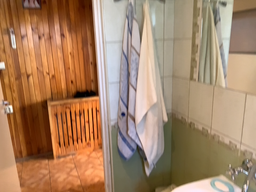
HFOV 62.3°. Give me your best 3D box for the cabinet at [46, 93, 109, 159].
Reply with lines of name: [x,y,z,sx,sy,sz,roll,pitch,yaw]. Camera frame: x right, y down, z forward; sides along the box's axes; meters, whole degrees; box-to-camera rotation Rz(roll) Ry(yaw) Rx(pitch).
cabinet: [-0.730,0.430,3.190,0.840,0.840,0.190,-7,15,-20]

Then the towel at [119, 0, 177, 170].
towel: [0.120,-0.060,1.350,0.270,1.000,0.210,-7,15,-20]
